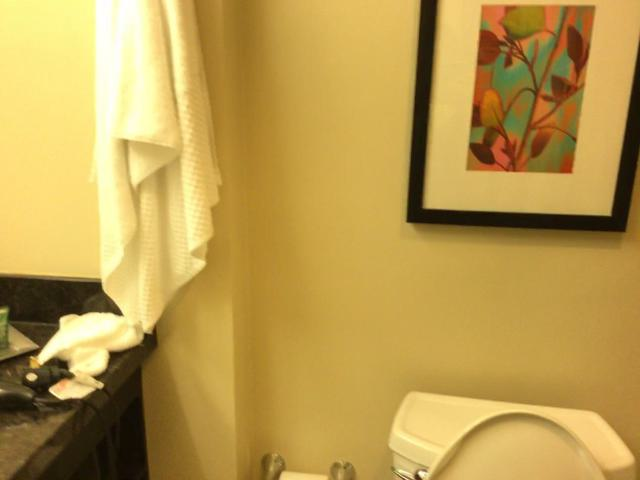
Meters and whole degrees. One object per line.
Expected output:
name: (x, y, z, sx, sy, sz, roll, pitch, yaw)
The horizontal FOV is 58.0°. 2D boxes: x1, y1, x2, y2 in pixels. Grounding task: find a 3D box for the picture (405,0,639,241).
picture: (0.380, -0.260, 1.040, 0.430, 0.510, 0.050, 2, 16, 9)
